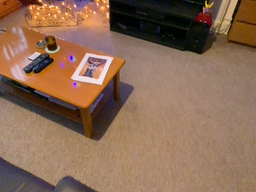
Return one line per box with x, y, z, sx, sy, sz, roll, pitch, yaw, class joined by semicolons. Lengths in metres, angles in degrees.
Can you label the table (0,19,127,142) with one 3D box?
-0.620;-0.170;1.670;1.080;0.400;0.540;21;50;16;table
